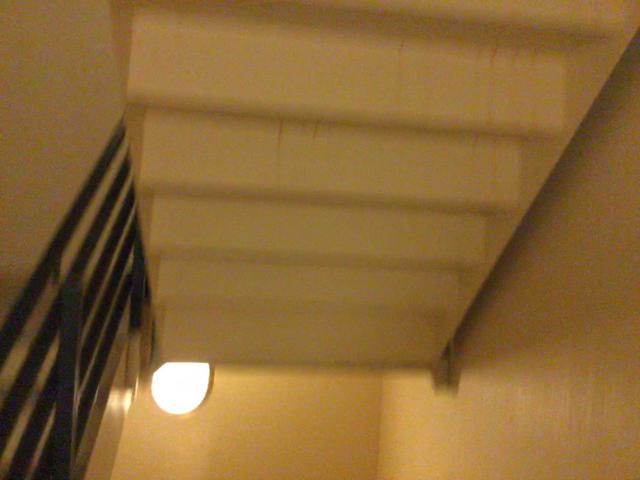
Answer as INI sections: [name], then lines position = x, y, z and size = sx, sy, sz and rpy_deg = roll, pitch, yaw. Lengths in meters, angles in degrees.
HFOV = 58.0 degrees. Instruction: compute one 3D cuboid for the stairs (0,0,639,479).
[stairs]
position = -0.160, -0.190, 1.680
size = 1.760, 1.770, 1.720
rpy_deg = 4, 3, -6
